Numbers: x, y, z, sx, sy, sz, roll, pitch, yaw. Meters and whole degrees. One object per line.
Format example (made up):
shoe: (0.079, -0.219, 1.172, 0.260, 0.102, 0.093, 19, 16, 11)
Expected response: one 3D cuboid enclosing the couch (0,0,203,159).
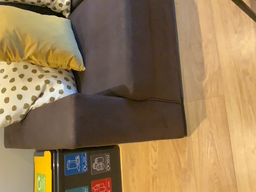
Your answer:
couch: (-0.350, -0.560, 1.250, 1.020, 0.870, 1.660, -14, 75, 47)
